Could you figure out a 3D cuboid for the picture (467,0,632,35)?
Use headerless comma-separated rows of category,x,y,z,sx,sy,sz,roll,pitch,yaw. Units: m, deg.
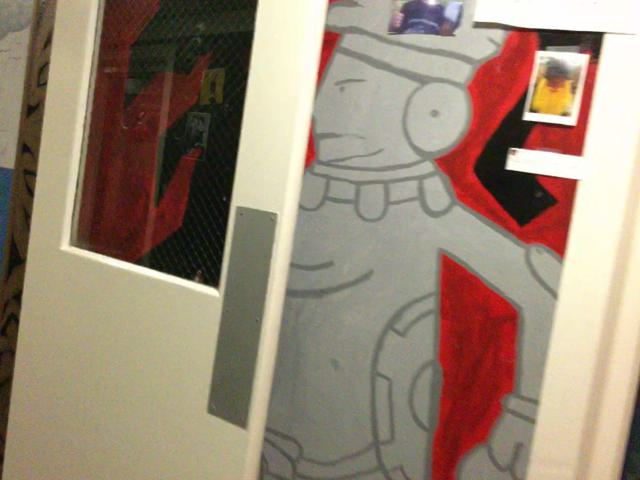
picture,0.410,-0.430,1.040,0.270,0.110,0.030,8,1,22

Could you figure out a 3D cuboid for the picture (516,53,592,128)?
picture,0.420,-0.270,1.040,0.110,0.130,0.010,8,1,22

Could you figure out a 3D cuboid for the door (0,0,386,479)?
door,-0.390,0.220,1.250,0.840,2.150,0.210,8,1,22

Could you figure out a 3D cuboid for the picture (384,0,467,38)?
picture,0.210,-0.480,1.120,0.150,0.170,0.020,8,1,22
